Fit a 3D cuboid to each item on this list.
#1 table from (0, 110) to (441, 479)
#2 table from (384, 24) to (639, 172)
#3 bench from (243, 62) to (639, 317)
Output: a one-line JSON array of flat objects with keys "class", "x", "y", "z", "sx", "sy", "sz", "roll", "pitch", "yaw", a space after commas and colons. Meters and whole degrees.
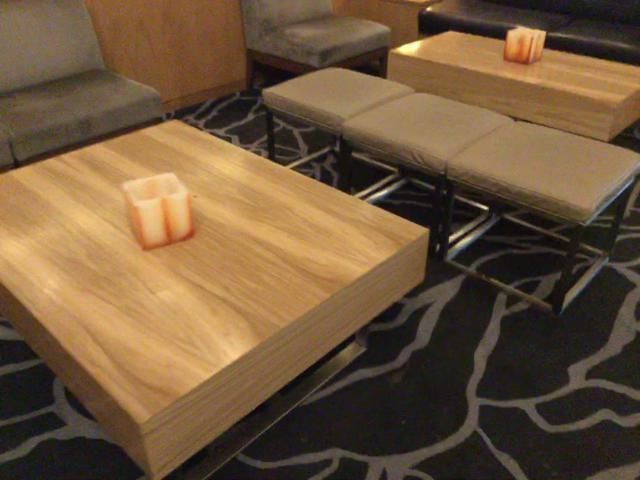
[{"class": "table", "x": -0.470, "y": 0.110, "z": 1.780, "sx": 1.310, "sy": 0.490, "sz": 0.940, "roll": 26, "pitch": 42, "yaw": 36}, {"class": "table", "x": 1.030, "y": -0.790, "z": 2.970, "sx": 1.240, "sy": 0.340, "sz": 0.660, "roll": 26, "pitch": 42, "yaw": 36}, {"class": "bench", "x": 0.420, "y": -0.320, "z": 2.400, "sx": 1.490, "sy": 0.440, "sz": 0.610, "roll": 26, "pitch": 42, "yaw": 36}]
